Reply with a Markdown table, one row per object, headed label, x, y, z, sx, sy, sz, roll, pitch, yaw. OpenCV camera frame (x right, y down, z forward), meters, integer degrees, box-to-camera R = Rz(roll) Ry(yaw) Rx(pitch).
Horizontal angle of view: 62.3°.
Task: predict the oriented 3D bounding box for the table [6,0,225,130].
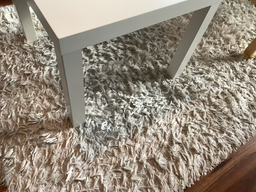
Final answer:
| label | x | y | z | sx | sy | sz | roll | pitch | yaw |
| --- | --- | --- | --- | --- | --- | --- | --- | --- | --- |
| table | -0.100 | -0.320 | 0.840 | 0.580 | 0.460 | 0.570 | -25 | 65 | -24 |
